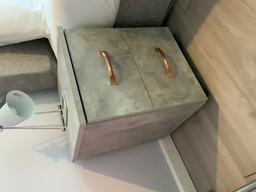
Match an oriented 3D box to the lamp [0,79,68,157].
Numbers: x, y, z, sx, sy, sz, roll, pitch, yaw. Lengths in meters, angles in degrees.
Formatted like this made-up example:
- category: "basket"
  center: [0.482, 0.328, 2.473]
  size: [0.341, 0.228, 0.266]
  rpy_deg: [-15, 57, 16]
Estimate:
- category: "lamp"
  center: [-0.400, 0.090, 0.850]
  size: [0.240, 0.280, 0.170]
  rpy_deg: [112, 143, -53]
